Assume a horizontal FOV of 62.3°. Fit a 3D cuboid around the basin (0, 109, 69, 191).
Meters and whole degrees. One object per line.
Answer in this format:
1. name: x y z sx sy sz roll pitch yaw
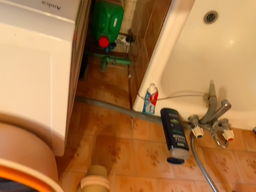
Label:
1. basin: -0.320 0.180 0.500 0.330 0.120 0.330 7 135 -10
